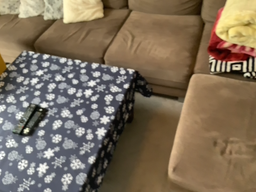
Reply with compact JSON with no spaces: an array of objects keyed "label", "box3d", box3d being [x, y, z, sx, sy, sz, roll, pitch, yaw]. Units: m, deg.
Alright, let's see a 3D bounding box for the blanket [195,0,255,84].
[{"label":"blanket","box3d":[0.920,-0.450,1.410,0.750,0.400,0.660,14,53,17]}]
